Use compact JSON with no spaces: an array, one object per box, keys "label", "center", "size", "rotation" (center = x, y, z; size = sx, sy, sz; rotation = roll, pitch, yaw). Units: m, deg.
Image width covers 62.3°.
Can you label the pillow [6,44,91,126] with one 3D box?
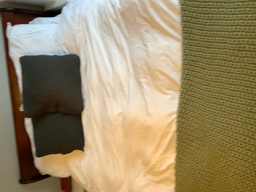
[{"label":"pillow","center":[-0.550,-0.070,1.530],"size":[0.140,0.410,0.450],"rotation":[15,79,45]}]

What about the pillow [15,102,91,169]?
[{"label":"pillow","center":[-0.560,0.320,1.660],"size":[0.130,0.420,0.380],"rotation":[14,72,45]}]
